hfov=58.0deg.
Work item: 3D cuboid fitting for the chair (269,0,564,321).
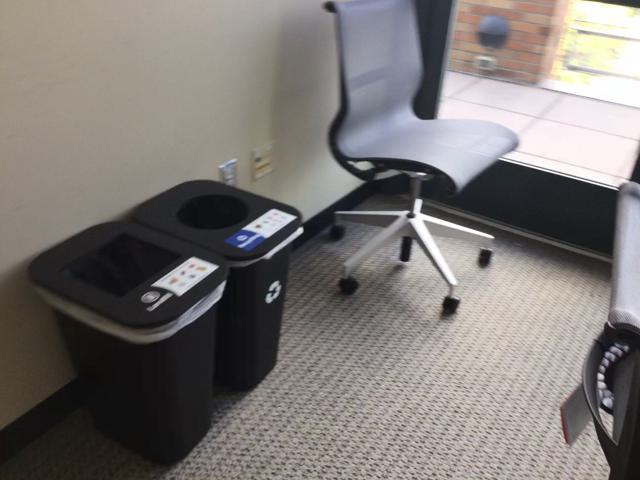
[{"bbox_3d":[0.320,-0.340,1.990,0.710,0.880,0.570,18,36,31],"label":"chair"}]
